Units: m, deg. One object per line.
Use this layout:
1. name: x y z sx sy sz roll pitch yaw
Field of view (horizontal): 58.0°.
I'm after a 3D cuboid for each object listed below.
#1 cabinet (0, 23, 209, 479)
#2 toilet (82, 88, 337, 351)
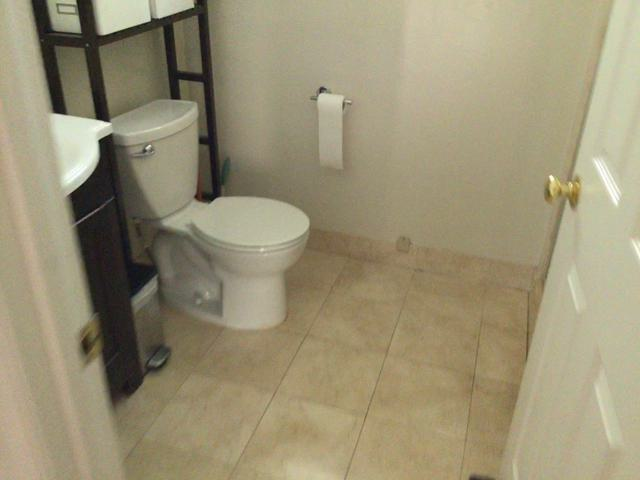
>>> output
1. cabinet: -0.730 0.120 1.430 0.470 1.080 0.900 9 31 14
2. toilet: -0.360 -0.100 2.170 0.720 0.750 0.490 9 31 14
